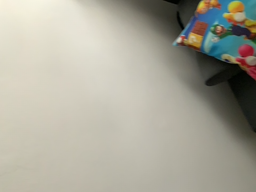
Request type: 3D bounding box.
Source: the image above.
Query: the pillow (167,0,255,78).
[{"bbox_3d":[0.420,-0.350,0.890,0.440,0.180,0.410,47,129,51],"label":"pillow"}]
